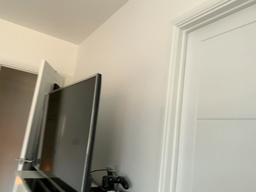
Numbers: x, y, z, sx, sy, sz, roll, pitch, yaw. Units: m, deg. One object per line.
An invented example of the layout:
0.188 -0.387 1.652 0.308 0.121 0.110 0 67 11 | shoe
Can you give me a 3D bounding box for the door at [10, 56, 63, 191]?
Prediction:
-1.000 0.670 2.270 0.070 2.030 0.780 9 -11 -5 | door
